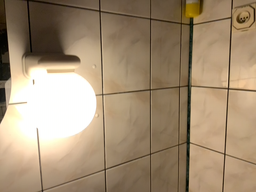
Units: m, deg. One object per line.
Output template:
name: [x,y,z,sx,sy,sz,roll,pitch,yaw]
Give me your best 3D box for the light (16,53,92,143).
light: [-0.180,-0.010,0.500,0.100,0.170,0.190,-7,-169,-39]
